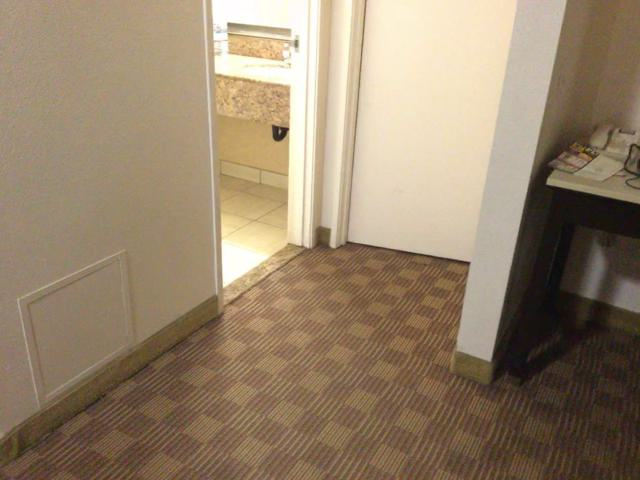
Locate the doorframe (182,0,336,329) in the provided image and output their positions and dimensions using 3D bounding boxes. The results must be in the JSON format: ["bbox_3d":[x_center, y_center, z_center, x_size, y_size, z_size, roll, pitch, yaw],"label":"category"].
[{"bbox_3d":[-0.200,-0.680,2.320,0.130,1.950,0.850,15,30,24],"label":"doorframe"}]
